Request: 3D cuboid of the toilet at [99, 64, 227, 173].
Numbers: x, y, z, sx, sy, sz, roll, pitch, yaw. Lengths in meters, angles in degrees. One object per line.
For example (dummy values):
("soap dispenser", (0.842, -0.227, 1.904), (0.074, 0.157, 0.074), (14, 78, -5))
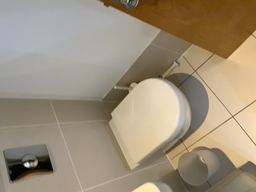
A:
("toilet", (0.220, 0.150, 1.390), (0.560, 0.490, 0.370), (-45, 61, 31))
